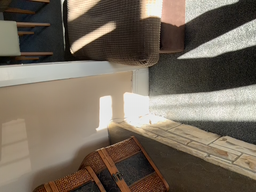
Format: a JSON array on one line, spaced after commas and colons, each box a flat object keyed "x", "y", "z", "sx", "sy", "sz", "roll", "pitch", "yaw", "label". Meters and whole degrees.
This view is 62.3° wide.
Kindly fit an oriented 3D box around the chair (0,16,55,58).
[{"x": -1.390, "y": -0.620, "z": 2.310, "sx": 0.540, "sy": 0.950, "sz": 0.400, "roll": 12, "pitch": 108, "yaw": 46, "label": "chair"}]
